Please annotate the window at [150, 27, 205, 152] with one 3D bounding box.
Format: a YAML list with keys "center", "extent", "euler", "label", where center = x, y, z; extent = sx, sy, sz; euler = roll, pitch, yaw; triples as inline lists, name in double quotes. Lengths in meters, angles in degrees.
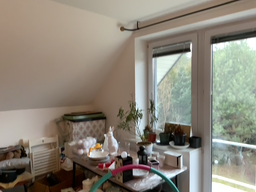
- center: [0.640, -0.080, 2.930]
  extent: [0.090, 1.530, 0.820]
  euler: [-2, 3, -43]
  label: "window"

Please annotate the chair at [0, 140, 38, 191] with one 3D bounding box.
- center: [-1.460, 1.050, 2.720]
  extent: [0.410, 0.820, 0.500]
  euler: [-3, 4, -44]
  label: "chair"
